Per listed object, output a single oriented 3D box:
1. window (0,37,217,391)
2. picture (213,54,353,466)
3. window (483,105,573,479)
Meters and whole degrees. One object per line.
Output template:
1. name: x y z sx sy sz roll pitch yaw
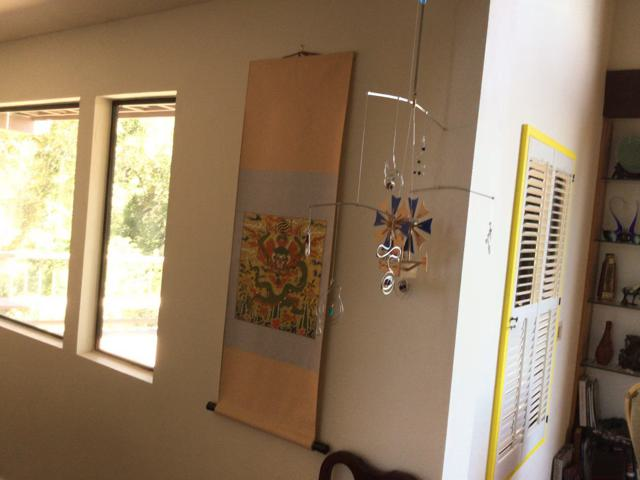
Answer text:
1. window: -1.600 -0.200 3.010 2.440 1.370 0.280 6 0 33
2. picture: -0.140 0.050 2.010 0.410 1.350 0.040 6 0 33
3. window: 0.960 0.300 2.620 0.070 1.650 0.740 6 0 33
